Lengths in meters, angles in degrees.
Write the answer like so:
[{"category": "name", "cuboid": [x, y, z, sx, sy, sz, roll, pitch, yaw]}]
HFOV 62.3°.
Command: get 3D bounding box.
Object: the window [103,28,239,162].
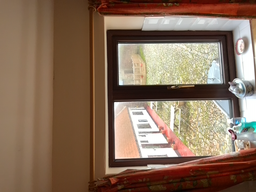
[{"category": "window", "cuboid": [0.260, -0.020, 1.390, 0.120, 0.830, 0.830, 121, 148, -83]}]
